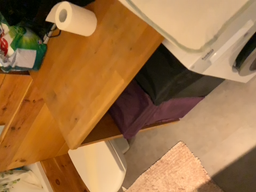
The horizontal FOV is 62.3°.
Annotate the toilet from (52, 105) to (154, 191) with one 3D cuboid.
[{"bbox_3d":[-0.180,0.380,1.540,0.350,0.440,0.500,-51,63,26],"label":"toilet"}]
